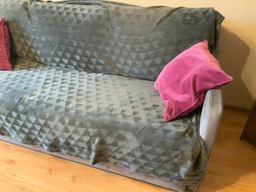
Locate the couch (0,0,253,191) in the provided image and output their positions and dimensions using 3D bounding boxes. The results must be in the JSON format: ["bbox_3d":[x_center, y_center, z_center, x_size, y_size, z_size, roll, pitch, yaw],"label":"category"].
[{"bbox_3d":[-0.500,-0.220,1.550,2.180,0.840,1.000,12,35,15],"label":"couch"}]

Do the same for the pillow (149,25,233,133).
[{"bbox_3d":[0.290,-0.090,1.120,0.140,0.350,0.430,21,43,-23],"label":"pillow"}]
